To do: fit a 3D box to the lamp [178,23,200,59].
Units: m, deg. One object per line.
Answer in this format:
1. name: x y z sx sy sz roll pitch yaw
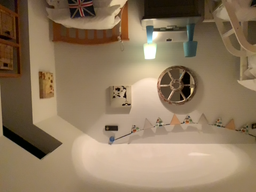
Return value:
1. lamp: 0.730 -0.650 2.560 0.190 0.370 0.310 0 -176 5
